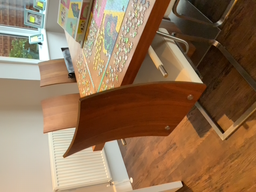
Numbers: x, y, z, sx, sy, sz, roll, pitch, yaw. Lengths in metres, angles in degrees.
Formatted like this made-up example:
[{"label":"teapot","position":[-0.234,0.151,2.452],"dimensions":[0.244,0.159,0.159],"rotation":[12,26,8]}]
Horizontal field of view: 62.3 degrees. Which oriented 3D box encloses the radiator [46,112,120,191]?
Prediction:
[{"label":"radiator","position":[-0.560,0.610,2.470],"dimensions":[0.160,0.660,0.970],"rotation":[-65,36,39]}]
